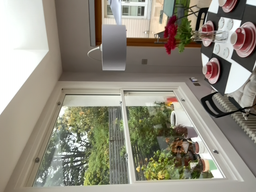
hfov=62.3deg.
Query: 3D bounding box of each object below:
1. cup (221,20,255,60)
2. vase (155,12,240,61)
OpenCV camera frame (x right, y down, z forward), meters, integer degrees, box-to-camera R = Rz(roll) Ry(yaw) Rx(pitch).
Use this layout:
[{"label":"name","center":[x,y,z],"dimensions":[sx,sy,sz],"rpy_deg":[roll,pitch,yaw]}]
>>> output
[{"label":"cup","center":[0.860,-0.440,1.650],"dimensions":[0.270,0.090,0.250],"rpy_deg":[-101,13,-63]},{"label":"vase","center":[0.620,-0.580,2.030],"dimensions":[0.400,0.620,0.380],"rpy_deg":[-103,15,-67]}]
